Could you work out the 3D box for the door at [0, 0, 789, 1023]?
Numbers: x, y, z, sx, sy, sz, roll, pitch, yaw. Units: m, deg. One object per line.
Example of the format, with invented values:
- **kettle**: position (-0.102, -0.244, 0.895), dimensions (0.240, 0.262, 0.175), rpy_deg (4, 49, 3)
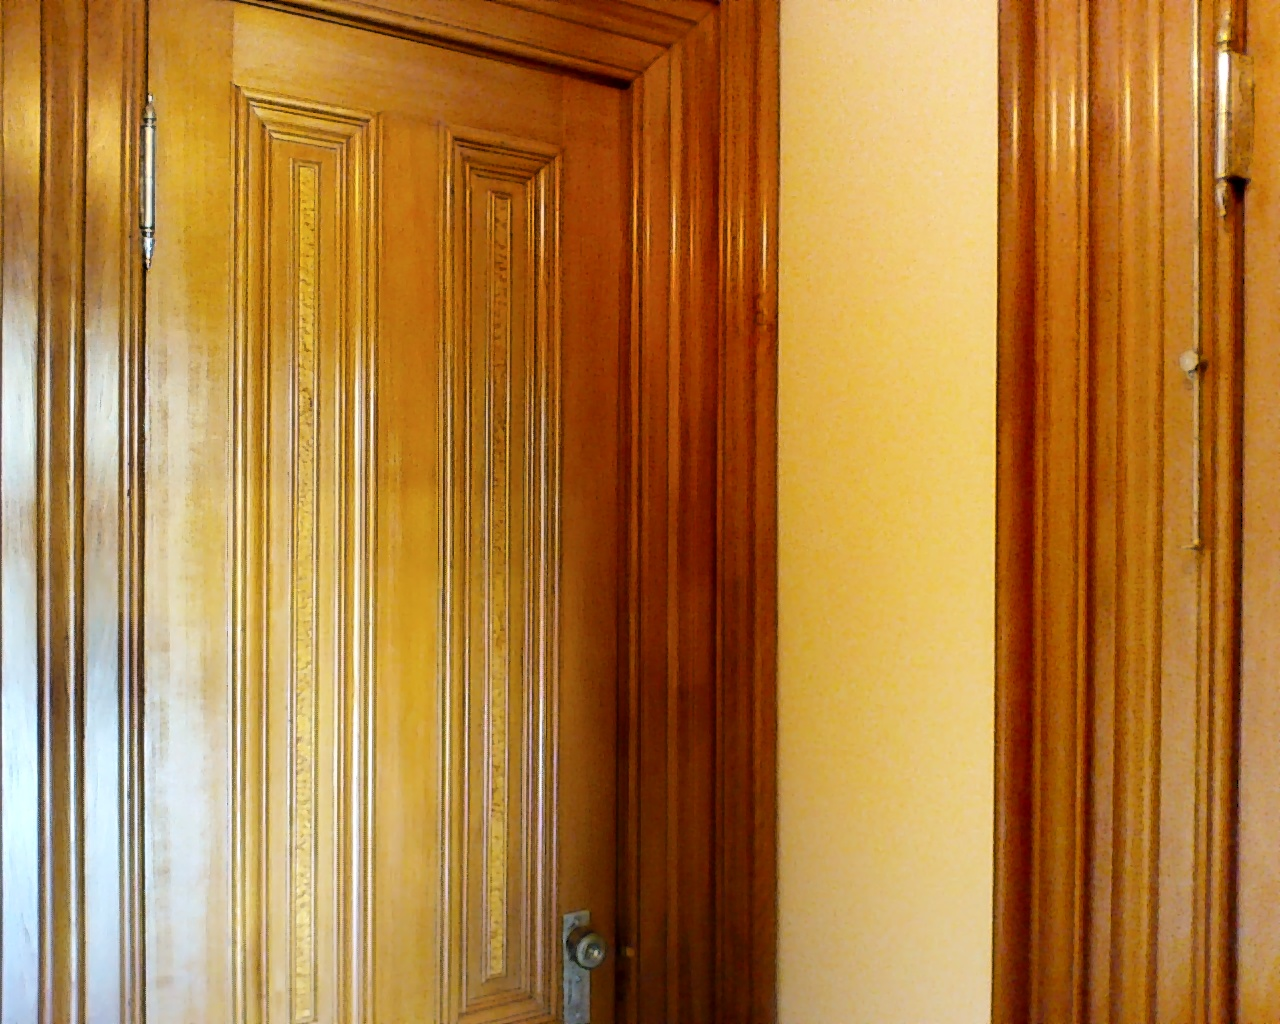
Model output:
- **door**: position (-0.310, 0.270, 1.530), dimensions (1.220, 2.500, 0.130), rpy_deg (0, 0, -31)
